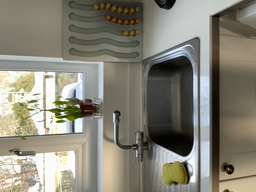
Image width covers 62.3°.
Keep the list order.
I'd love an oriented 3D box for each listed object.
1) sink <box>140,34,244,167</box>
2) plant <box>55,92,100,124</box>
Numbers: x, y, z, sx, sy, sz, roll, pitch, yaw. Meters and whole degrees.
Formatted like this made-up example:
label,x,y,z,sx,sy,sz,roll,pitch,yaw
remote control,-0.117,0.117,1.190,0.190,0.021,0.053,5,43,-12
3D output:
label,x,y,z,sx,sy,sz,roll,pitch,yaw
sink,0.250,0.010,1.010,0.520,0.200,0.460,-175,85,-70
plant,-0.310,0.060,1.280,0.220,0.240,0.170,-175,85,-70
